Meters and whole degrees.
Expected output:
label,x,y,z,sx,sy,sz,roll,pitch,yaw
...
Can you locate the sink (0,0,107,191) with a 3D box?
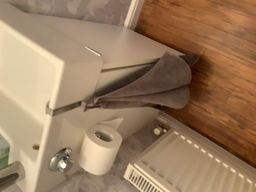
label,x,y,z,sx,sy,sz,roll,pitch,yaw
sink,-0.310,0.000,0.610,0.400,0.130,0.420,32,117,22
